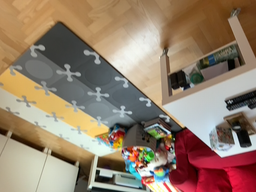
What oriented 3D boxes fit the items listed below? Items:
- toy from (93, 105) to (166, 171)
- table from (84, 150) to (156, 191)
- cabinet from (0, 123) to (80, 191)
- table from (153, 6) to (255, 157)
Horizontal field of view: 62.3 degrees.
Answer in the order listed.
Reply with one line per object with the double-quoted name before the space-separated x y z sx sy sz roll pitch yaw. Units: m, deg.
"toy" 0.020 0.530 2.560 0.740 0.520 0.400 -23 134 30
"table" -0.100 1.190 3.270 1.030 0.460 0.270 13 141 -11
"cabinet" -1.580 0.950 2.870 0.510 0.740 1.790 -25 133 32
"table" 0.680 -0.020 1.580 0.580 0.540 0.900 -24 134 31
